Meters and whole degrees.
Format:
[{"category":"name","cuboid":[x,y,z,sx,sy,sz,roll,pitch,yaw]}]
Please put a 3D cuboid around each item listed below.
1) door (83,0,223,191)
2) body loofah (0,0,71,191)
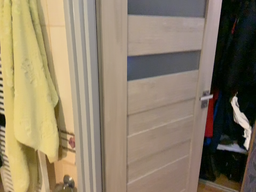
[{"category":"door","cuboid":[0.190,0.130,1.270,0.900,2.070,0.070,-13,23,-35]},{"category":"body loofah","cuboid":[-0.490,0.050,0.930,0.350,1.230,0.220,11,21,27]}]
